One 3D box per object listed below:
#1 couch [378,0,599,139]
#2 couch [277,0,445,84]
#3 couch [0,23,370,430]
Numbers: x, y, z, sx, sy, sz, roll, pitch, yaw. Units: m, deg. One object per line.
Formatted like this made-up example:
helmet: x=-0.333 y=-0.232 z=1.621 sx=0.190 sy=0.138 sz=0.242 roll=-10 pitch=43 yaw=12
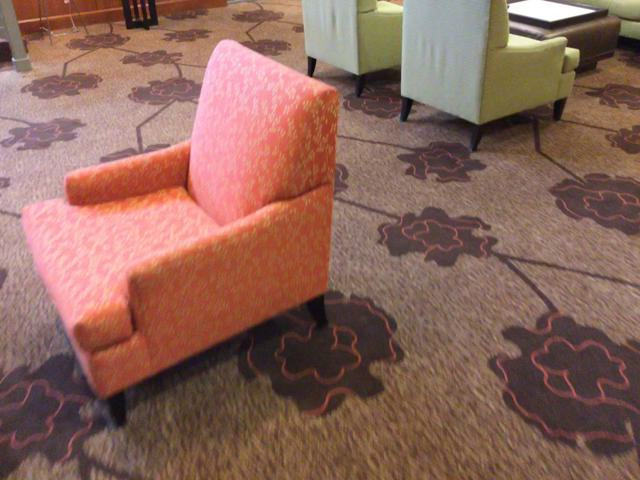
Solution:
couch: x=0.980 y=-1.220 z=3.440 sx=0.940 sy=0.800 sz=0.770 roll=-22 pitch=41 yaw=-29
couch: x=0.290 y=-1.720 z=4.140 sx=0.940 sy=0.830 sz=0.740 roll=-22 pitch=41 yaw=-29
couch: x=-0.450 y=-0.120 z=1.920 sx=0.930 sy=0.870 sz=0.730 roll=-22 pitch=41 yaw=-29
